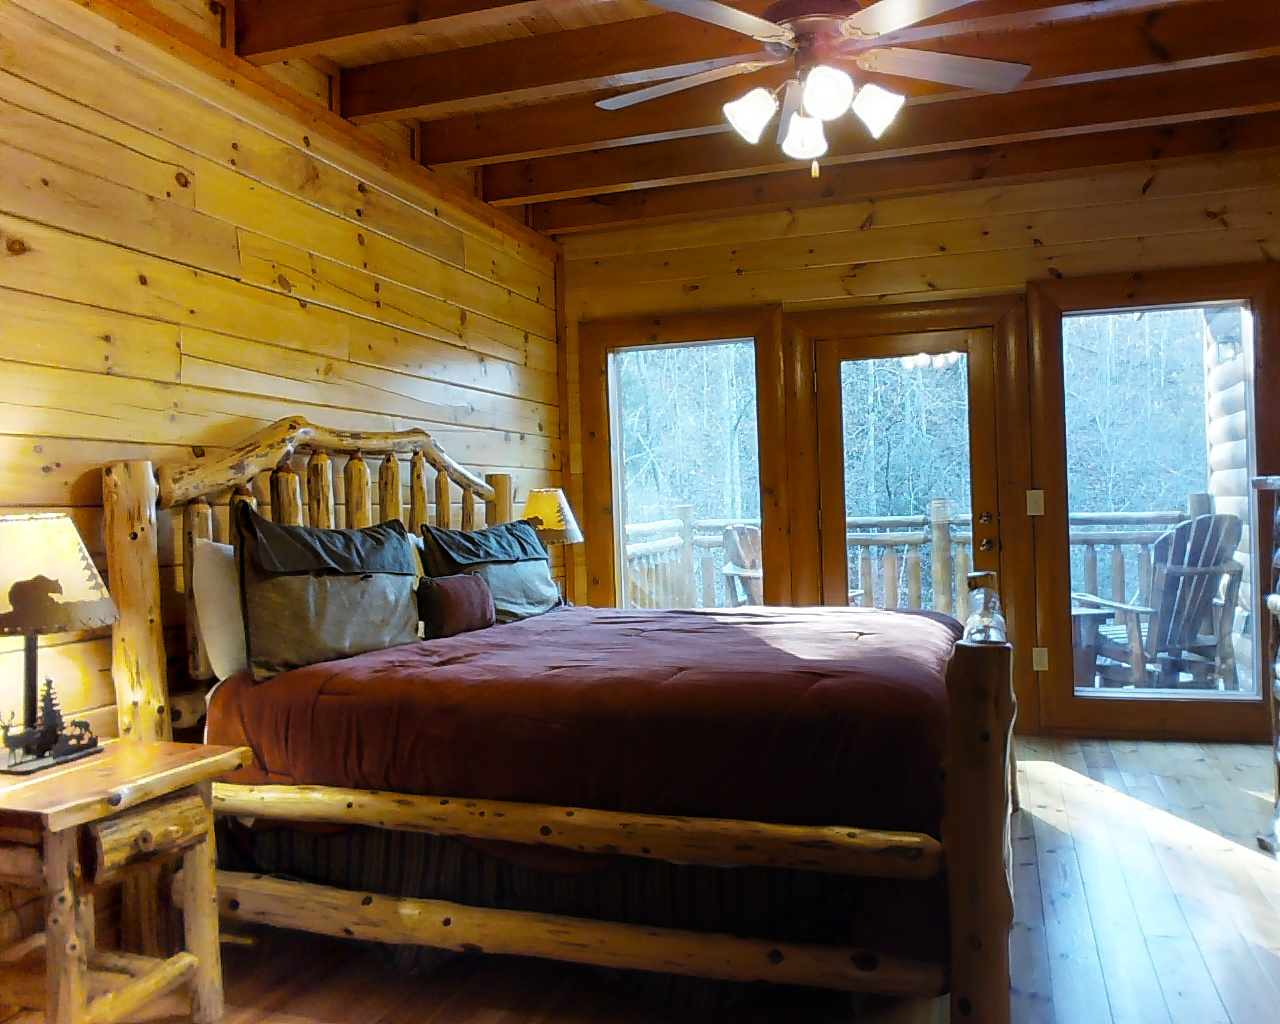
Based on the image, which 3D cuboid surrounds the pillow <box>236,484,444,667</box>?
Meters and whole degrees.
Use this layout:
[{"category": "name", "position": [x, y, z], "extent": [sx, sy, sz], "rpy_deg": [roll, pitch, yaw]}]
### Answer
[{"category": "pillow", "position": [-0.900, 0.220, 3.350], "extent": [0.210, 0.450, 0.720], "rpy_deg": [-1, -13, 19]}]

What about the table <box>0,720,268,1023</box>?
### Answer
[{"category": "table", "position": [-1.300, 0.890, 2.490], "extent": [0.610, 0.680, 0.560], "rpy_deg": [-1, 0, 19]}]

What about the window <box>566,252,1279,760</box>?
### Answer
[{"category": "window", "position": [1.380, -0.010, 5.520], "extent": [3.749, 2.341, 0.060], "rpy_deg": [-1, 0, 18]}]
